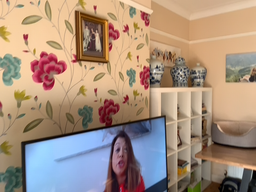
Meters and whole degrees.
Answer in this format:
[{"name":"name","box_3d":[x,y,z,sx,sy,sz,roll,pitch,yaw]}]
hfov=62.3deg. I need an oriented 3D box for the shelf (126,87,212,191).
[{"name":"shelf","box_3d":[0.650,0.630,2.910,0.450,1.490,1.550,2,3,40]}]
